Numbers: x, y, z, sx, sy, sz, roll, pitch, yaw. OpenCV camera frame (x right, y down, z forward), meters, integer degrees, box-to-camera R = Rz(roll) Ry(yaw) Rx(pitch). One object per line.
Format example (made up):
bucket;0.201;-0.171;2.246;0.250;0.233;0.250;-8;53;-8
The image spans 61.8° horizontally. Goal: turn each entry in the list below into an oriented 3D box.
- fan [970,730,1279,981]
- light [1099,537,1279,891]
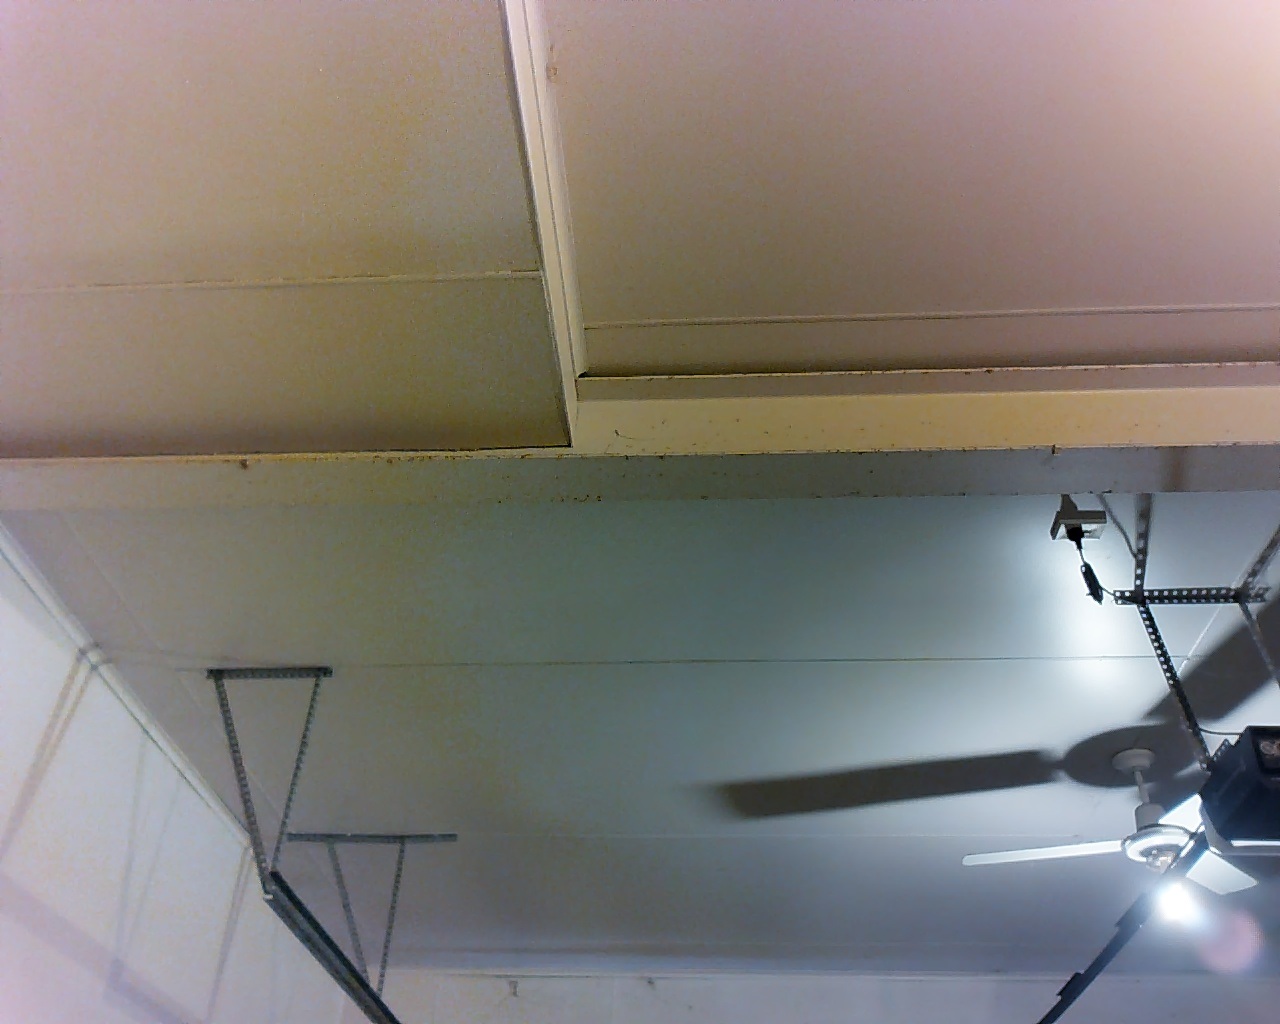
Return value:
fan;1.759;1.060;3.500;1.060;0.390;1.120;-1;4;3
light;1.469;0.480;2.600;0.400;0.720;0.440;-1;-41;3
